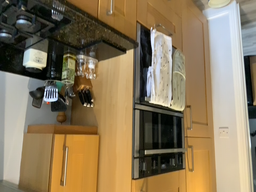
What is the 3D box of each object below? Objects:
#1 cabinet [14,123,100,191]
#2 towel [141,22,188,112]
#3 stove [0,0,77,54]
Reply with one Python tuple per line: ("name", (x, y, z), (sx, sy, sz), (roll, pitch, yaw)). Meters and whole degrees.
("cabinet", (-0.410, 0.570, 1.200), (0.340, 0.810, 0.310), (-6, 167, 39))
("towel", (0.260, -0.160, 1.420), (0.090, 0.490, 0.450), (-7, 167, 40))
("stove", (-0.630, -0.340, 0.890), (0.550, 0.030, 0.600), (-6, 167, 39))
